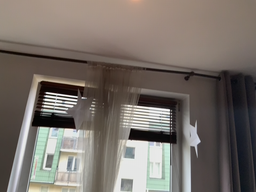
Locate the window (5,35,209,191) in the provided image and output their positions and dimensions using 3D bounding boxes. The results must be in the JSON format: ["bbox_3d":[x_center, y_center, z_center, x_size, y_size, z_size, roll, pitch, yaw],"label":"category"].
[{"bbox_3d":[-0.100,0.550,1.790,1.510,1.850,0.390,9,-18,-14],"label":"window"}]
